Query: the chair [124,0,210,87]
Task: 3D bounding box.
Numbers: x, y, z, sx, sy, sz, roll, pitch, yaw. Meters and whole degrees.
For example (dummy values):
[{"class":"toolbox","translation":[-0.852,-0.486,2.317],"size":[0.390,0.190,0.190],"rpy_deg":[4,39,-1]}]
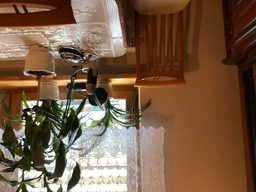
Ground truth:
[{"class":"chair","translation":[0.210,-0.590,1.450],"size":[0.440,0.960,0.580],"rpy_deg":[-1,173,3]}]
